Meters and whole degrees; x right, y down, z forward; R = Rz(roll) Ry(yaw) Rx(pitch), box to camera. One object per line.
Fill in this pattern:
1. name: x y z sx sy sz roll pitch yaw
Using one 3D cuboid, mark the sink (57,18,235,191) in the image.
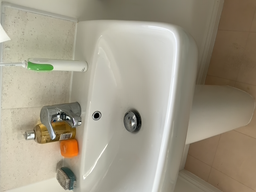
1. sink: -0.020 0.090 0.590 0.430 0.140 0.560 21 108 45
